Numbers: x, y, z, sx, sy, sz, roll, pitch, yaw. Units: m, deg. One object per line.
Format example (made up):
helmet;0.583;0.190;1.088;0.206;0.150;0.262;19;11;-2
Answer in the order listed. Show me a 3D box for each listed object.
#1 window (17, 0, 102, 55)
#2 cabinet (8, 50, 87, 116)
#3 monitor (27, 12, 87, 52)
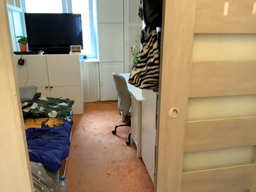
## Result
window;-1.320;-1.590;4.230;1.520;1.480;0.320;-3;17;-11
cabinet;-1.350;-0.250;3.790;1.160;1.070;0.450;-2;17;-9
monitor;-1.180;-1.080;3.610;0.930;0.640;0.060;-3;17;-11
